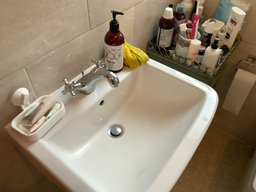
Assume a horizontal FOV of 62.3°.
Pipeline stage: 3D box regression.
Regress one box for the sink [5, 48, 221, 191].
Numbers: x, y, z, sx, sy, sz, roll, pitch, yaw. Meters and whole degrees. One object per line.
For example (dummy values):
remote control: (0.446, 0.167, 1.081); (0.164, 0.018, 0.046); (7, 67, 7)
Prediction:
sink: (-0.020, 0.100, 0.730); (0.450, 0.180, 0.520); (29, 51, 24)
